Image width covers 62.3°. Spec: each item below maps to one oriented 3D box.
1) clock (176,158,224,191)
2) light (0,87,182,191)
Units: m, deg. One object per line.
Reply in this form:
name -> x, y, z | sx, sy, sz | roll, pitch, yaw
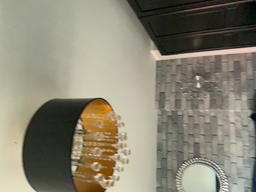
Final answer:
clock -> 0.950, 1.160, 2.830 | 0.150, 0.590, 0.590 | 30, -119, -65
light -> -0.200, 0.310, 1.090 | 0.580, 0.780, 0.400 | 35, -108, -65
